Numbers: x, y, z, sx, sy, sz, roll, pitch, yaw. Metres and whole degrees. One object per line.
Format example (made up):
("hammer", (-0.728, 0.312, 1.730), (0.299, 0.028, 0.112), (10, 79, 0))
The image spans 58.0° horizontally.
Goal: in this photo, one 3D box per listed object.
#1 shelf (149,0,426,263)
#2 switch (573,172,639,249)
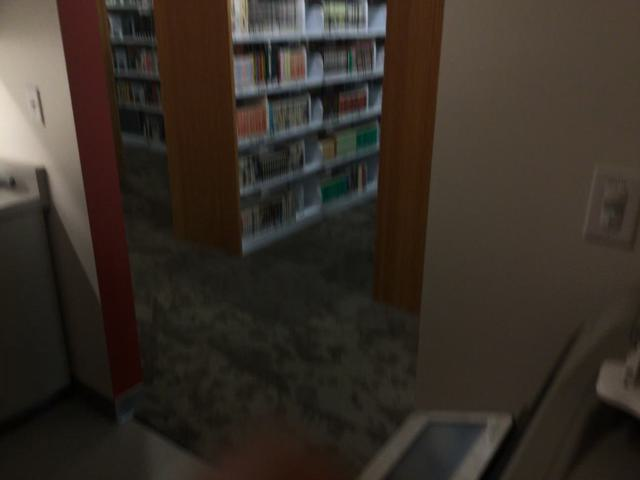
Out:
("shelf", (-0.060, -1.280, 4.130), (0.600, 2.170, 2.300), (16, 27, 32))
("switch", (0.480, -0.050, 0.960), (0.090, 0.110, 0.020), (16, 27, 32))
